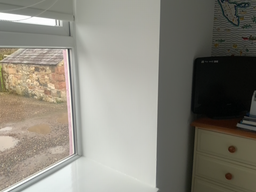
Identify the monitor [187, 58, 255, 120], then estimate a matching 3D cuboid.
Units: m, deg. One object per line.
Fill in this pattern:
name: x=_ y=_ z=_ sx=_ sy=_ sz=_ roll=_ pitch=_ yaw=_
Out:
monitor: x=0.600 y=-0.050 z=1.280 sx=0.500 sy=0.350 sz=0.040 roll=-3 pitch=12 yaw=-15
